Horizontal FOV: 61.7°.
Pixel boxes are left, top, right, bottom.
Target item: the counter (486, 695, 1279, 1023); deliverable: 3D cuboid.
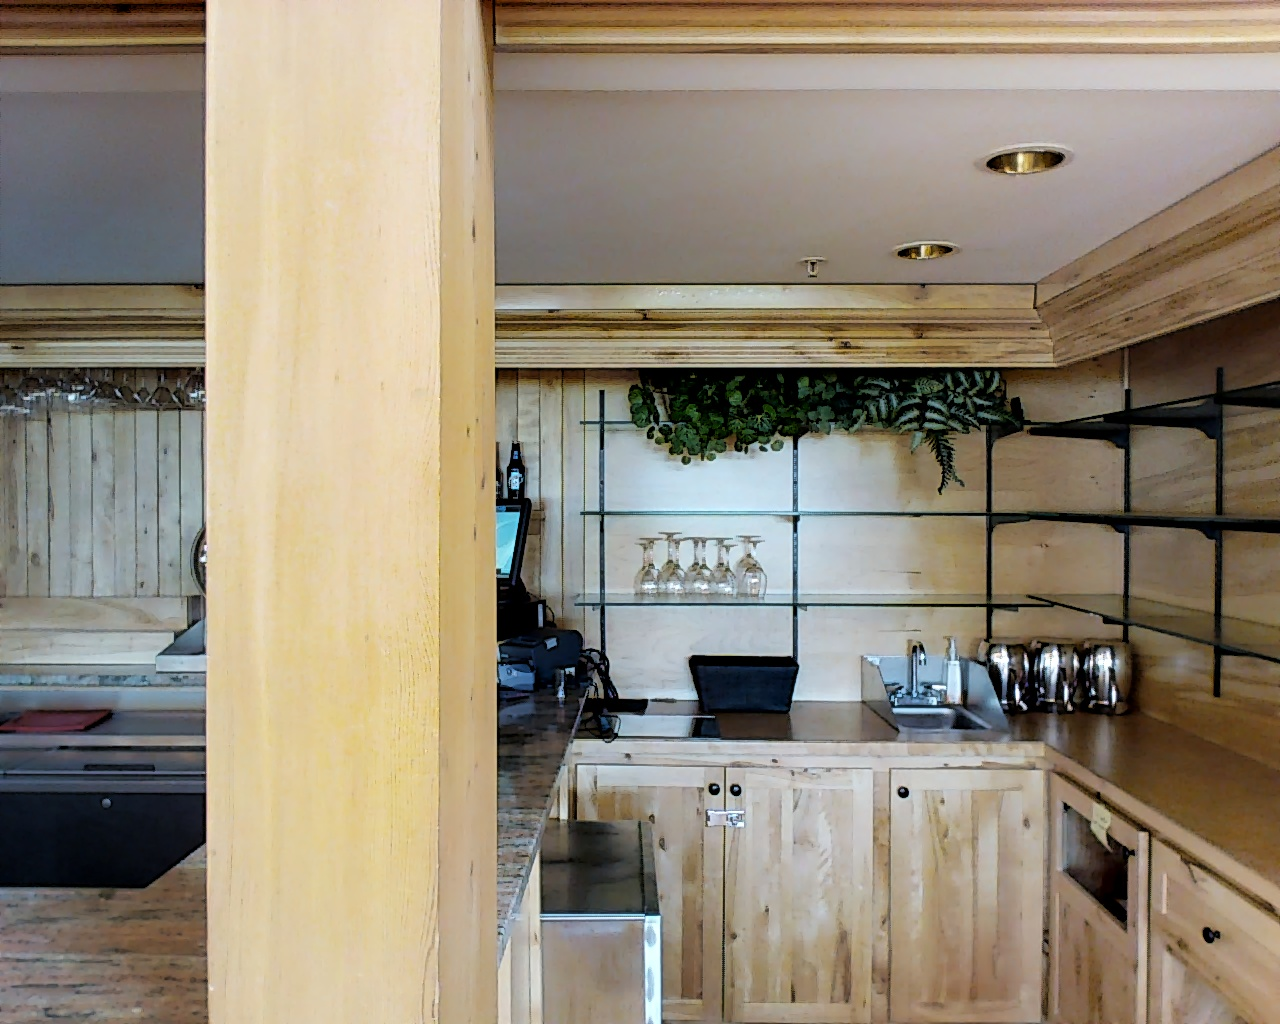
[{"bbox_3d":[0.710,0.670,2.430,1.810,0.070,2.410,0,1,0],"label":"counter"}]
